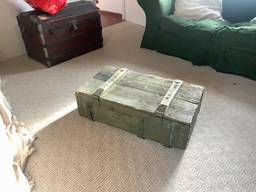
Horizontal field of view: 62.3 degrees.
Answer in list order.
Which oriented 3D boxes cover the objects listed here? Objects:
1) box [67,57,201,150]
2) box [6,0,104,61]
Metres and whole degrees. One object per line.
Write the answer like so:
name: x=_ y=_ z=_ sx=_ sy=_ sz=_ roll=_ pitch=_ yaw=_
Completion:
box: x=0.050 y=0.000 z=1.610 sx=0.840 sy=0.270 sz=0.500 roll=16 pitch=37 yaw=23
box: x=-0.850 y=-0.900 z=2.630 sx=0.610 sy=0.540 sz=0.870 roll=27 pitch=42 yaw=34
